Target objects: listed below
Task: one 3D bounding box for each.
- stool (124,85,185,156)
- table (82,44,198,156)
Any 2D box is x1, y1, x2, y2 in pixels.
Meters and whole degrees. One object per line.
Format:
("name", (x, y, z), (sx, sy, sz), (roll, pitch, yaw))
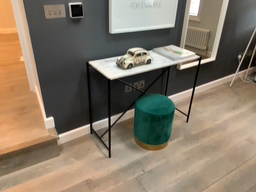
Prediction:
("stool", (0.230, 0.210, 2.020), (0.390, 0.440, 0.390), (-16, 33, -28))
("table", (0.130, -0.010, 2.080), (1.000, 0.770, 0.390), (-17, 34, -29))
